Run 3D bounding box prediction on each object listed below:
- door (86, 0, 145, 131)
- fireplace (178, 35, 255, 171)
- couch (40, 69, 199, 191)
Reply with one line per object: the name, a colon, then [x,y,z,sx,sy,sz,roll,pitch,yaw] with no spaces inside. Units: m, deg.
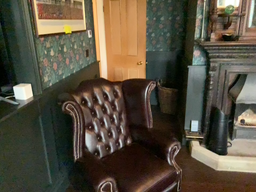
door: [-0.190,-0.550,3.620,0.980,2.300,0.140,9,22,27]
fireplace: [1.550,-0.010,2.510,1.690,1.300,1.130,1,20,7]
couch: [-0.090,0.420,1.770,0.840,1.040,0.880,-15,24,-34]
